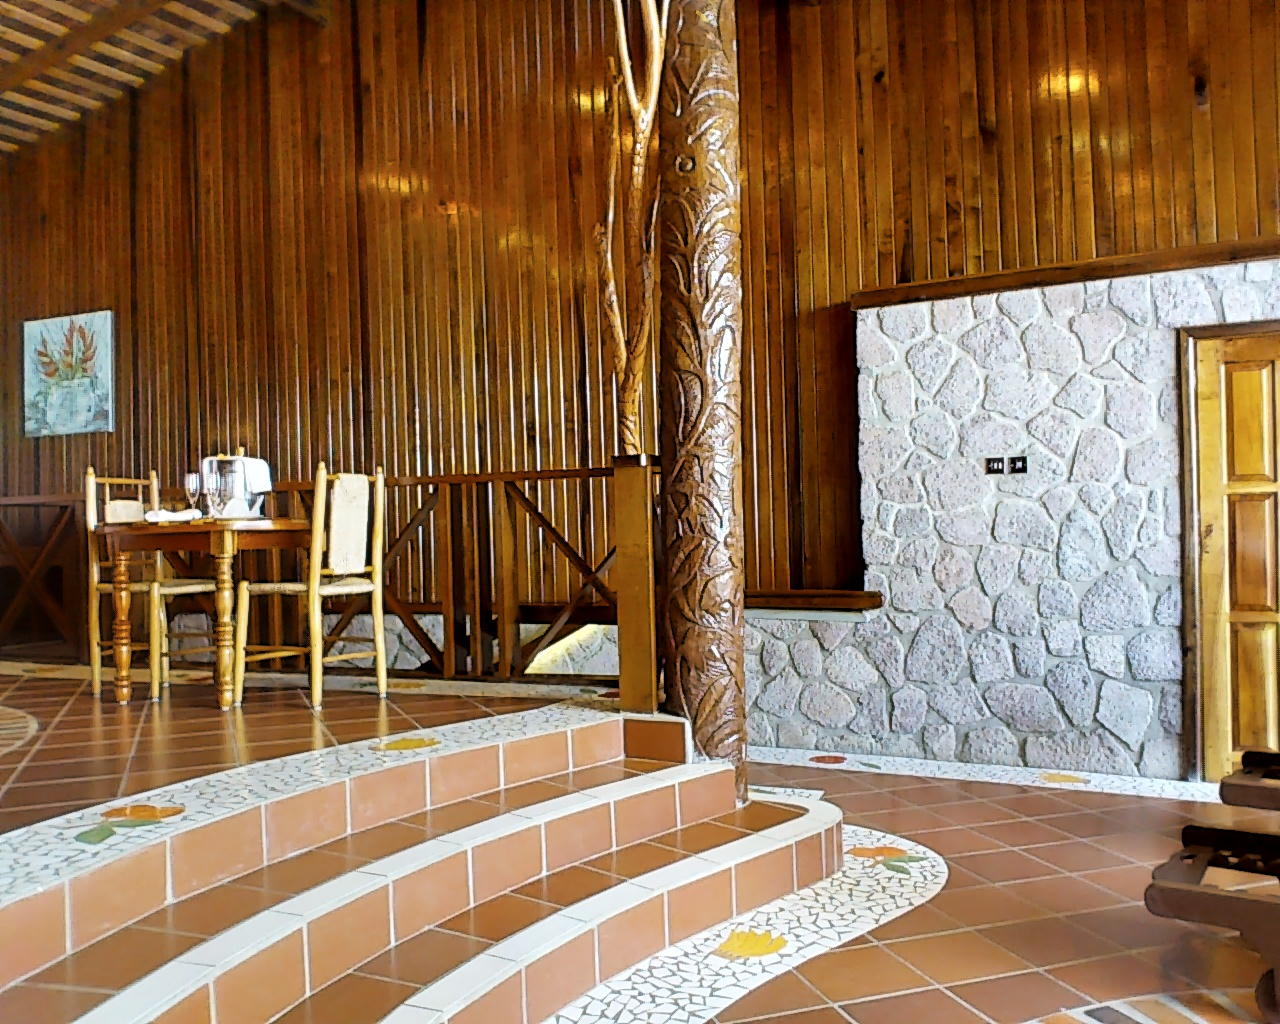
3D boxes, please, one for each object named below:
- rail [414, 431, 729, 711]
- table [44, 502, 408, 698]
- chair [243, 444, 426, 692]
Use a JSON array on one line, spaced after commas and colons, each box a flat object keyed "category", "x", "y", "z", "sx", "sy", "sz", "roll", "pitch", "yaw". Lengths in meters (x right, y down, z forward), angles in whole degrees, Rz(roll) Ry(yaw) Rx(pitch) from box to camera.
[{"category": "rail", "x": -0.270, "y": 0.230, "z": 4.640, "sx": 1.060, "sy": 1.050, "sz": 0.860, "roll": -1, "pitch": 0, "yaw": 24}, {"category": "table", "x": -1.830, "y": 0.350, "z": 4.860, "sx": 1.120, "sy": 0.760, "sz": 1.030, "roll": -1, "pitch": 0, "yaw": 24}, {"category": "chair", "x": -1.320, "y": 0.230, "z": 4.700, "sx": 0.510, "sy": 1.000, "sz": 0.560, "roll": -1, "pitch": 0, "yaw": 24}]
